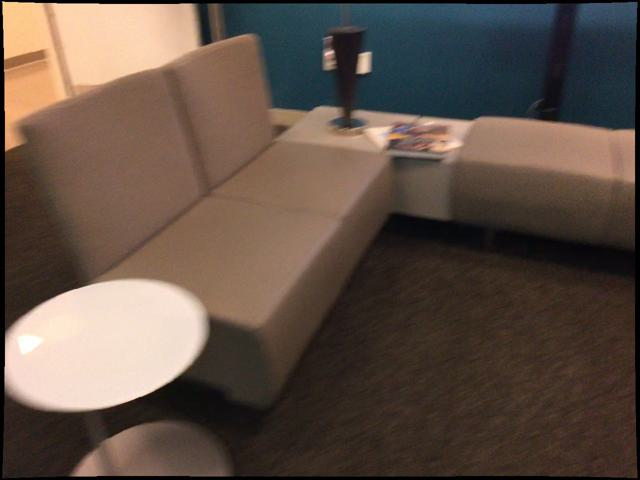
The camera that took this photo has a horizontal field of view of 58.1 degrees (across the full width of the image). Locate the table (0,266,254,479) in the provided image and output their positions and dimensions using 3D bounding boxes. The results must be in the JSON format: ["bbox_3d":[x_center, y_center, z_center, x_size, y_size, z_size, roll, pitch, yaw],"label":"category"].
[{"bbox_3d":[-0.439,0.431,1.330,0.399,0.541,0.420,9,33,16],"label":"table"}]

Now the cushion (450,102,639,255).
[{"bbox_3d":[1.207,-0.251,2.350,1.227,0.331,0.610,9,33,16],"label":"cushion"}]
